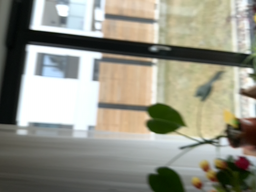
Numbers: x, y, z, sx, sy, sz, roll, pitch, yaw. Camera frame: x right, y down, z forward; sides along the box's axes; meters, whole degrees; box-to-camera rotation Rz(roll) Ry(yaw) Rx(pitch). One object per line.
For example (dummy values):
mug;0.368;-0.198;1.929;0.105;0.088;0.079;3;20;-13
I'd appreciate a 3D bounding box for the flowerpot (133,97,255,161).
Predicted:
flowerpot;0.410;0.170;1.160;0.270;0.710;0.270;-170;84;-83

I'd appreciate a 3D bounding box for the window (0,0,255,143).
window;0.040;-0.610;1.940;0.290;2.160;1.920;122;151;-76
